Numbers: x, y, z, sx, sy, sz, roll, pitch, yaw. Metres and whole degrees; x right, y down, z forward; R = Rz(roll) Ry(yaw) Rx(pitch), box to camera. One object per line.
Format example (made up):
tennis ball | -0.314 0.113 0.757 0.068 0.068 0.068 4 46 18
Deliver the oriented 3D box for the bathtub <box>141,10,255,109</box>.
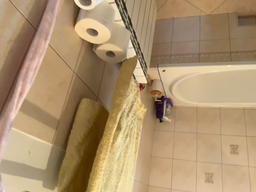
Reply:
bathtub | 0.970 -0.260 1.750 1.560 0.500 0.680 0 154 19
